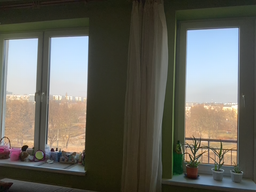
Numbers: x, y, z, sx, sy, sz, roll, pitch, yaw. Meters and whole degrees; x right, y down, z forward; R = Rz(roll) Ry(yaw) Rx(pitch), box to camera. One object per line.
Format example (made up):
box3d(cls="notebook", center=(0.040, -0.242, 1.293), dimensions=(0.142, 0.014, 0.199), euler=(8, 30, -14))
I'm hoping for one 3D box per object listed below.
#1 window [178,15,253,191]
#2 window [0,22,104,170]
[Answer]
box3d(cls="window", center=(0.900, 0.060, 2.260), dimensions=(0.660, 1.680, 0.320), euler=(1, -2, 15))
box3d(cls="window", center=(-1.090, -0.020, 2.690), dimensions=(1.490, 1.690, 0.300), euler=(1, -2, 10))
